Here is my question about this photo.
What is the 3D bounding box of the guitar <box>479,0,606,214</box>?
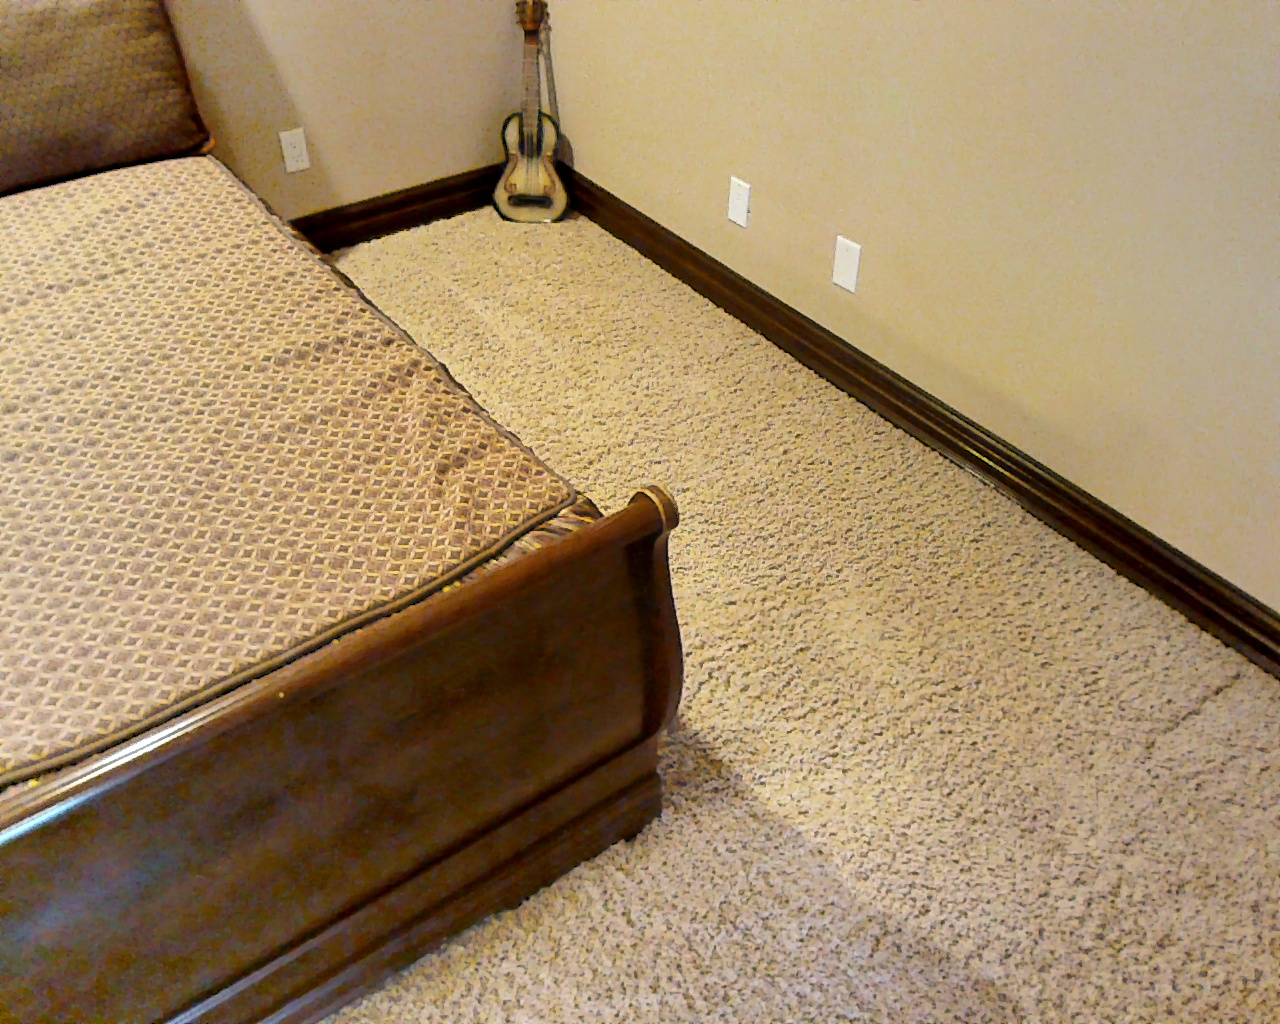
[{"bbox_3d":[-0.280,-1.269,3.180,0.290,0.660,0.210,20,45,19],"label":"guitar"}]
